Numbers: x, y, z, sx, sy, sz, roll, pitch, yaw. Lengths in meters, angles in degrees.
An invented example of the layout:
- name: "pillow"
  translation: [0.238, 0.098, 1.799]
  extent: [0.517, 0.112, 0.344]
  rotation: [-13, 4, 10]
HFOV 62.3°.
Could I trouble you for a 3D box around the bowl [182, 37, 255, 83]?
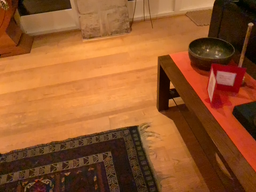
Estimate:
- name: "bowl"
  translation: [0.500, -0.220, 1.220]
  extent: [0.260, 0.080, 0.300]
  rotation: [-12, 42, -8]
